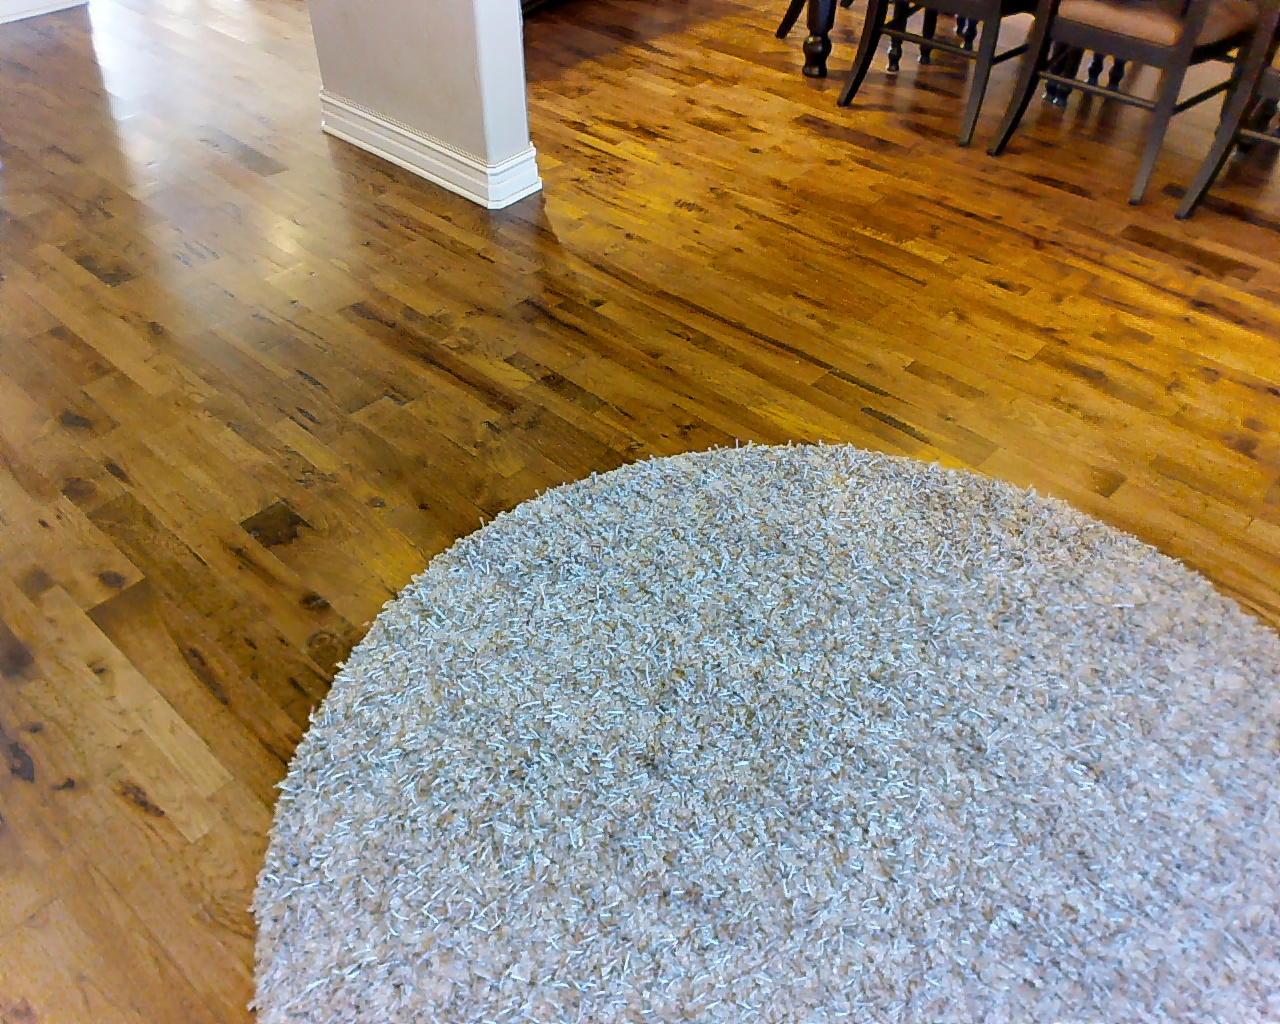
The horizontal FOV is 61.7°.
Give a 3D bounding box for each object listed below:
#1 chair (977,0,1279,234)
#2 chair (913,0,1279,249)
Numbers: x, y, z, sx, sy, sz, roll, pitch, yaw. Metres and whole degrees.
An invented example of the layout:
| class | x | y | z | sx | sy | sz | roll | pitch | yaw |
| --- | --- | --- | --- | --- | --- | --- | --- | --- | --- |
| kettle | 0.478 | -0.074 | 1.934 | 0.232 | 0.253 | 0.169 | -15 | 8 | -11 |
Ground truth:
| class | x | y | z | sx | sy | sz | roll | pitch | yaw |
| --- | --- | --- | --- | --- | --- | --- | --- | --- | --- |
| chair | 1.580 | -1.510 | 3.020 | 0.570 | 1.060 | 0.830 | -32 | 52 | -30 |
| chair | 1.680 | -1.500 | 3.000 | 1.470 | 1.070 | 0.710 | 32 | 52 | 30 |
